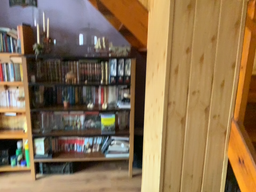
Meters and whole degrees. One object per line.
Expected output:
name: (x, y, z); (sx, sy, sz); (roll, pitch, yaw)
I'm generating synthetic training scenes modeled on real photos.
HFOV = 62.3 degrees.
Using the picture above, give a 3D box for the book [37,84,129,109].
book: (-0.500, 0.000, 2.470); (1.000, 0.250, 0.170); (0, 12, -7)

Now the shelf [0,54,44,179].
shelf: (-1.380, 0.230, 2.430); (0.630, 1.390, 0.340); (0, 12, -5)

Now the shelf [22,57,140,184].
shelf: (-0.490, 0.260, 2.470); (1.160, 1.360, 0.440); (0, 12, -5)

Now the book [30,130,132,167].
book: (-0.510, 0.590, 2.460); (1.080, 0.260, 0.290); (-1, 12, -10)
